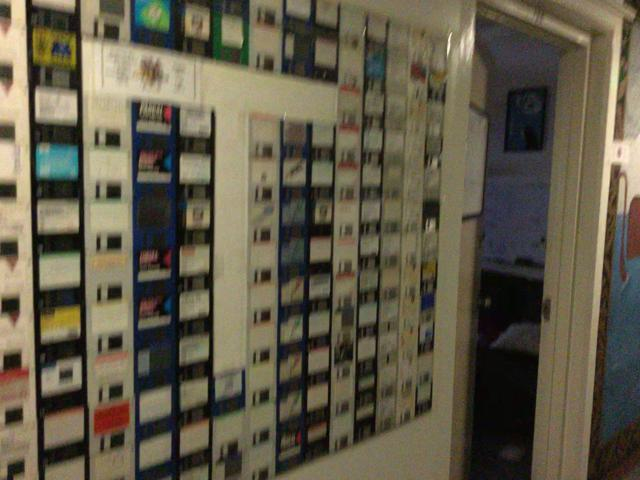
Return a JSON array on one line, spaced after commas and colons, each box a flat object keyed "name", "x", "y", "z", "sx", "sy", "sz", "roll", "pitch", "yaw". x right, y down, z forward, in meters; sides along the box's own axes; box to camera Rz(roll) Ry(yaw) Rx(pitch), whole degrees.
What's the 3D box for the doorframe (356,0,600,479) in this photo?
[{"name": "doorframe", "x": 0.660, "y": 0.200, "z": 2.260, "sx": 1.060, "sy": 2.160, "sz": 0.400, "roll": -3, "pitch": 4, "yaw": -43}]
